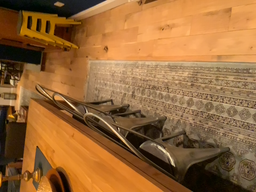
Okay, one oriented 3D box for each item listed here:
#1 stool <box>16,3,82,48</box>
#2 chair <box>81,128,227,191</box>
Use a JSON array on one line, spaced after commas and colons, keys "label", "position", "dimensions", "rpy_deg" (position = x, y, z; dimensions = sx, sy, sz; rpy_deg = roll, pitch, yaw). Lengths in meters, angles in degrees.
[{"label": "stool", "position": [-1.160, -1.000, 3.130], "dimensions": [0.390, 0.790, 0.420], "rpy_deg": [19, 101, 53]}, {"label": "chair", "position": [0.160, 0.460, 1.230], "dimensions": [0.400, 0.730, 0.450], "rpy_deg": [9, 93, 53]}]
